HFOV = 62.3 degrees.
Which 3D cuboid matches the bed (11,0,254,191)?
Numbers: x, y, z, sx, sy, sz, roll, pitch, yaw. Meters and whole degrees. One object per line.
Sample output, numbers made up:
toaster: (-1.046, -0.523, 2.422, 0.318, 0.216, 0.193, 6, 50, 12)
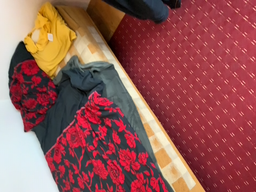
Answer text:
bed: (-0.260, 0.340, 1.770, 2.100, 0.470, 1.310, 54, 127, 24)
